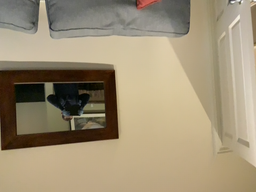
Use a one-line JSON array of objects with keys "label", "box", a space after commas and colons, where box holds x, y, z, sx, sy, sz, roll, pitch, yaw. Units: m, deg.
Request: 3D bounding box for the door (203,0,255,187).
[{"label": "door", "box": [0.830, -0.480, 1.790, 0.170, 2.040, 1.080, -3, 178, 11]}]
